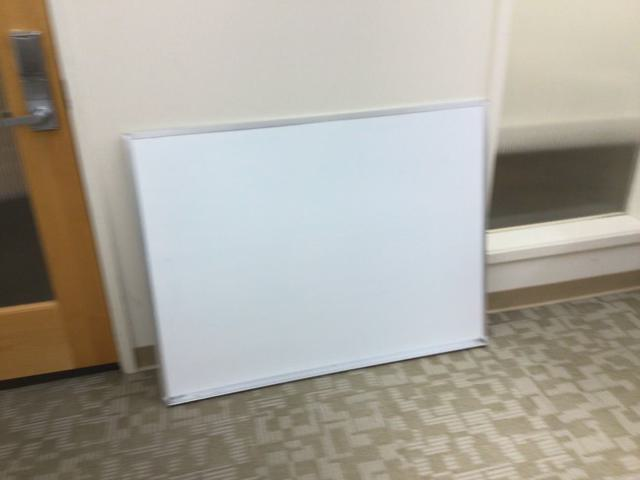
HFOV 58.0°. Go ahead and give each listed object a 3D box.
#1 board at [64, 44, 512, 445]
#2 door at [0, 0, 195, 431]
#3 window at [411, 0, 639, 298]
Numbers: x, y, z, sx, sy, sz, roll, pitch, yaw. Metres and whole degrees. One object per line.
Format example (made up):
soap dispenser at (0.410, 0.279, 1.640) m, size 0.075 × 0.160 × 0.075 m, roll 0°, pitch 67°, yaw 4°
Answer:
board at (-0.030, 0.050, 1.930) m, size 1.190 × 0.910 × 0.210 m, roll -27°, pitch 29°, yaw -3°
door at (-1.210, -0.230, 1.650) m, size 0.960 × 1.770 × 0.170 m, roll -26°, pitch 24°, yaw -2°
window at (0.850, -0.610, 1.960) m, size 0.870 × 1.380 × 0.270 m, roll -21°, pitch 18°, yaw -5°
